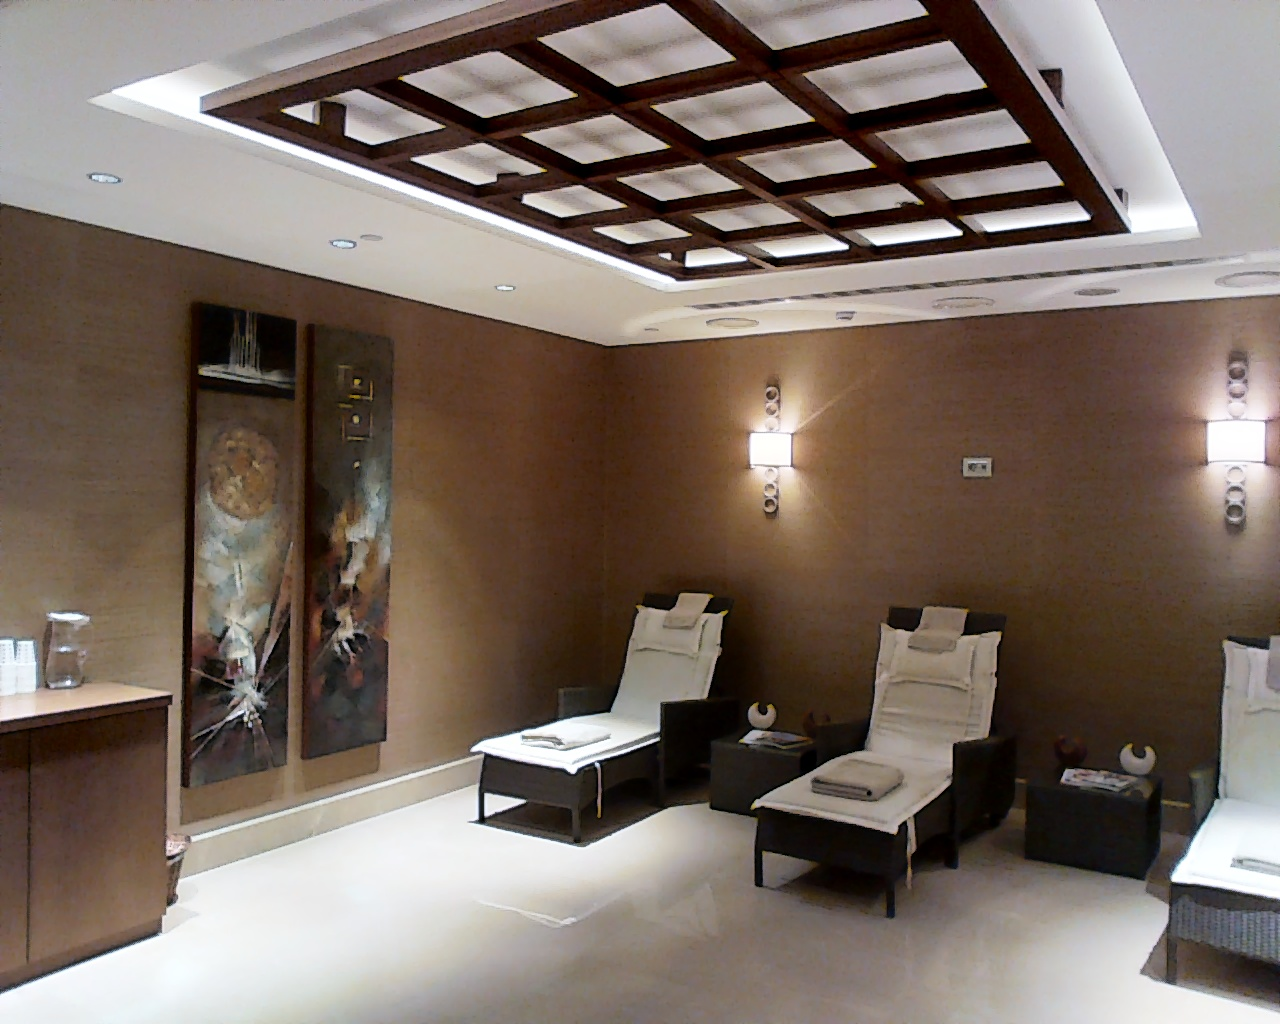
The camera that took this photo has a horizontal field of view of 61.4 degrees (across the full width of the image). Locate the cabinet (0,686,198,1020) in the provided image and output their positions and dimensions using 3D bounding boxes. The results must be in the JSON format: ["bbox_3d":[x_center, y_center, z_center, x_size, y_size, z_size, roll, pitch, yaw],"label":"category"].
[{"bbox_3d":[-2.110,1.120,3.580,0.490,0.900,1.090,0,0,33],"label":"cabinet"}]

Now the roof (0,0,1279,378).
[{"bbox_3d":[-1.300,-1.030,0.810,4.789,0.230,11.789,0,0,33],"label":"roof"}]

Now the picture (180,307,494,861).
[{"bbox_3d":[-1.340,0.300,5.150,0.080,2.250,1.810,1,0,33],"label":"picture"}]
